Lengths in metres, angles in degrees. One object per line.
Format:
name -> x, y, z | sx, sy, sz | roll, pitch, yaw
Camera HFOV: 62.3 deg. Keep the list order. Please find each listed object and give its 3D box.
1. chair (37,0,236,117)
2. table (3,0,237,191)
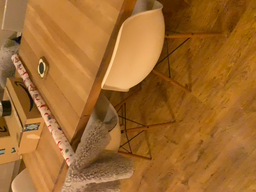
chair -> 0.070, -0.270, 1.130 | 0.510, 0.840, 0.450 | 41, 120, 36
table -> -0.250, -0.190, 1.520 | 0.950, 0.740, 1.640 | 47, 123, 33
